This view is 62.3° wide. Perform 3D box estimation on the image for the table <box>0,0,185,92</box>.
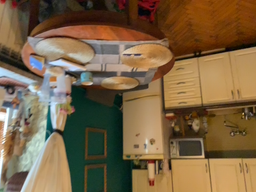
[{"bbox_3d":[-0.200,-0.600,1.720,1.030,0.770,1.060,-8,163,25],"label":"table"}]
